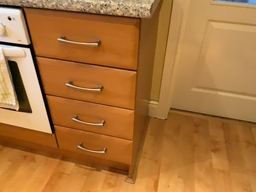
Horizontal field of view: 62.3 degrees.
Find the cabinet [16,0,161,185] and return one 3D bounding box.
[{"bbox_3d":[-0.100,-0.100,1.120,0.400,0.910,0.600,9,37,9],"label":"cabinet"}]
